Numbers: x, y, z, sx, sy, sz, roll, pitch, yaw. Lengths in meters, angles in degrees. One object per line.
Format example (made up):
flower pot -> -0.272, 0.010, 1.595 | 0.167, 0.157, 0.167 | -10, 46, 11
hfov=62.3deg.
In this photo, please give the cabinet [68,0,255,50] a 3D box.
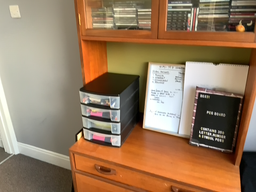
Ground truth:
cabinet -> 0.160, -0.620, 0.900 | 0.860, 0.740, 0.280 | 9, 25, 21
